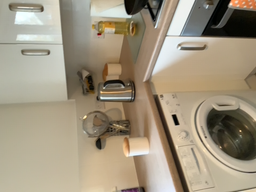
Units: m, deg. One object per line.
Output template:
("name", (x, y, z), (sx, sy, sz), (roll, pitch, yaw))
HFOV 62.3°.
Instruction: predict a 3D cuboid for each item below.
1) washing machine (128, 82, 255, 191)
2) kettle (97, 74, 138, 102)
("washing machine", (0.550, 0.340, 1.420), (0.620, 0.910, 0.590), (106, 156, -51))
("kettle", (-0.080, -0.060, 1.510), (0.120, 0.250, 0.150), (107, 155, -52))
